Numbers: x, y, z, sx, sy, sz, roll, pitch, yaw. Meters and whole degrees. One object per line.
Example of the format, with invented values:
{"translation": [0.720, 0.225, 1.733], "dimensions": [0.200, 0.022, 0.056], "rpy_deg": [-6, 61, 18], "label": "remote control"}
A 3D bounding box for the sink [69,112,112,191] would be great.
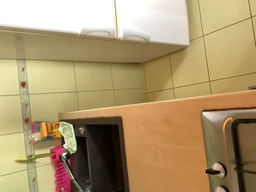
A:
{"translation": [-0.240, 0.350, 1.340], "dimensions": [0.180, 0.160, 0.480], "rpy_deg": [-9, 87, 52], "label": "sink"}

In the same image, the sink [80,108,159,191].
{"translation": [-0.060, 0.320, 1.130], "dimensions": [0.380, 0.190, 0.480], "rpy_deg": [-9, 87, 52], "label": "sink"}
